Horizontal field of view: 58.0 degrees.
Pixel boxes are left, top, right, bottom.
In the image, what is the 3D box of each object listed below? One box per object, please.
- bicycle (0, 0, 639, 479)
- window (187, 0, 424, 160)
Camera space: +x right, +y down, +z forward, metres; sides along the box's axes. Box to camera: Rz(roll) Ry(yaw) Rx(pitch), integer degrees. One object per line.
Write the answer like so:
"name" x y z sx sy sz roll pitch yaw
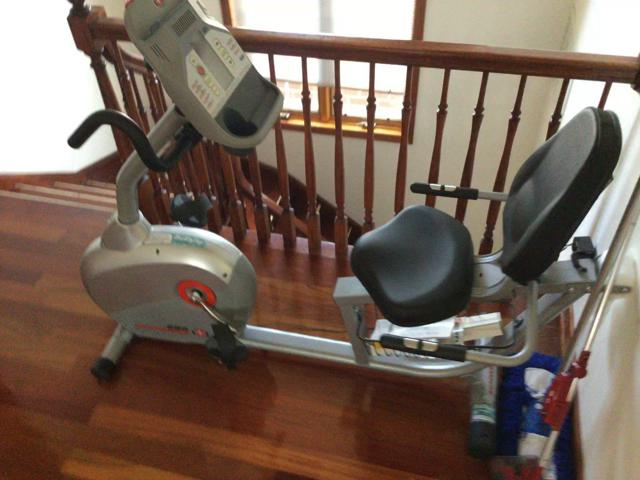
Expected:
"bicycle" -0.070 -0.120 1.530 1.540 1.200 0.730 8 39 11
"window" -0.090 -1.290 3.590 1.390 1.480 0.300 8 39 11
